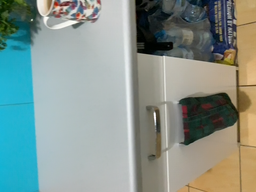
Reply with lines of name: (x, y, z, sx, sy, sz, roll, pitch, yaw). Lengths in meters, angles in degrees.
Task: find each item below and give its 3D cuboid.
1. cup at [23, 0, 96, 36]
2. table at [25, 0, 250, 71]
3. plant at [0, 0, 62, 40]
cup: (-0.160, -0.210, 0.490, 0.130, 0.110, 0.100, 2, 95, 44)
table: (0.100, -0.520, 0.880, 0.500, 0.850, 0.770, 0, 93, 44)
plant: (-0.360, -0.290, 0.650, 0.140, 0.260, 0.180, 3, 95, 44)
